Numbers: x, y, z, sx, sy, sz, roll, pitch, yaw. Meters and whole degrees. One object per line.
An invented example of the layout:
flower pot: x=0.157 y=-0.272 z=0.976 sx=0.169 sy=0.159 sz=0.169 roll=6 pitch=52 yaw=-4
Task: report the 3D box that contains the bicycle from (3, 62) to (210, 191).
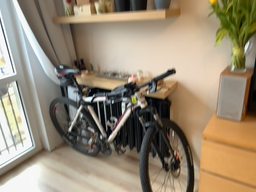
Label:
bicycle: x=-0.210 y=0.350 z=1.900 sx=1.560 sy=1.060 sz=0.710 roll=11 pitch=26 yaw=32
